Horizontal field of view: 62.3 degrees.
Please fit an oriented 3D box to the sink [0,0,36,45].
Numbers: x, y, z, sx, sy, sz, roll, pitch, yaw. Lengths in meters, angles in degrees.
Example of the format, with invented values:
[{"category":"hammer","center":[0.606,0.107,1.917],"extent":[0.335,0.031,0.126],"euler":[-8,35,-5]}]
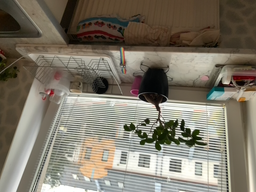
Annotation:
[{"category":"sink","center":[-0.670,-0.410,1.060],"extent":[0.260,0.210,0.220],"euler":[4,158,12]}]
